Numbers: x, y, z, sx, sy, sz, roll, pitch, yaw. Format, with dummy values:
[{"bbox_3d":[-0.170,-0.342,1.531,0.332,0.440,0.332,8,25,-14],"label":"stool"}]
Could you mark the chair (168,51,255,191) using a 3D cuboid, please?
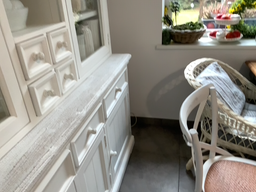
[{"bbox_3d":[0.770,0.190,1.620,0.680,0.840,0.620,16,33,32],"label":"chair"}]
